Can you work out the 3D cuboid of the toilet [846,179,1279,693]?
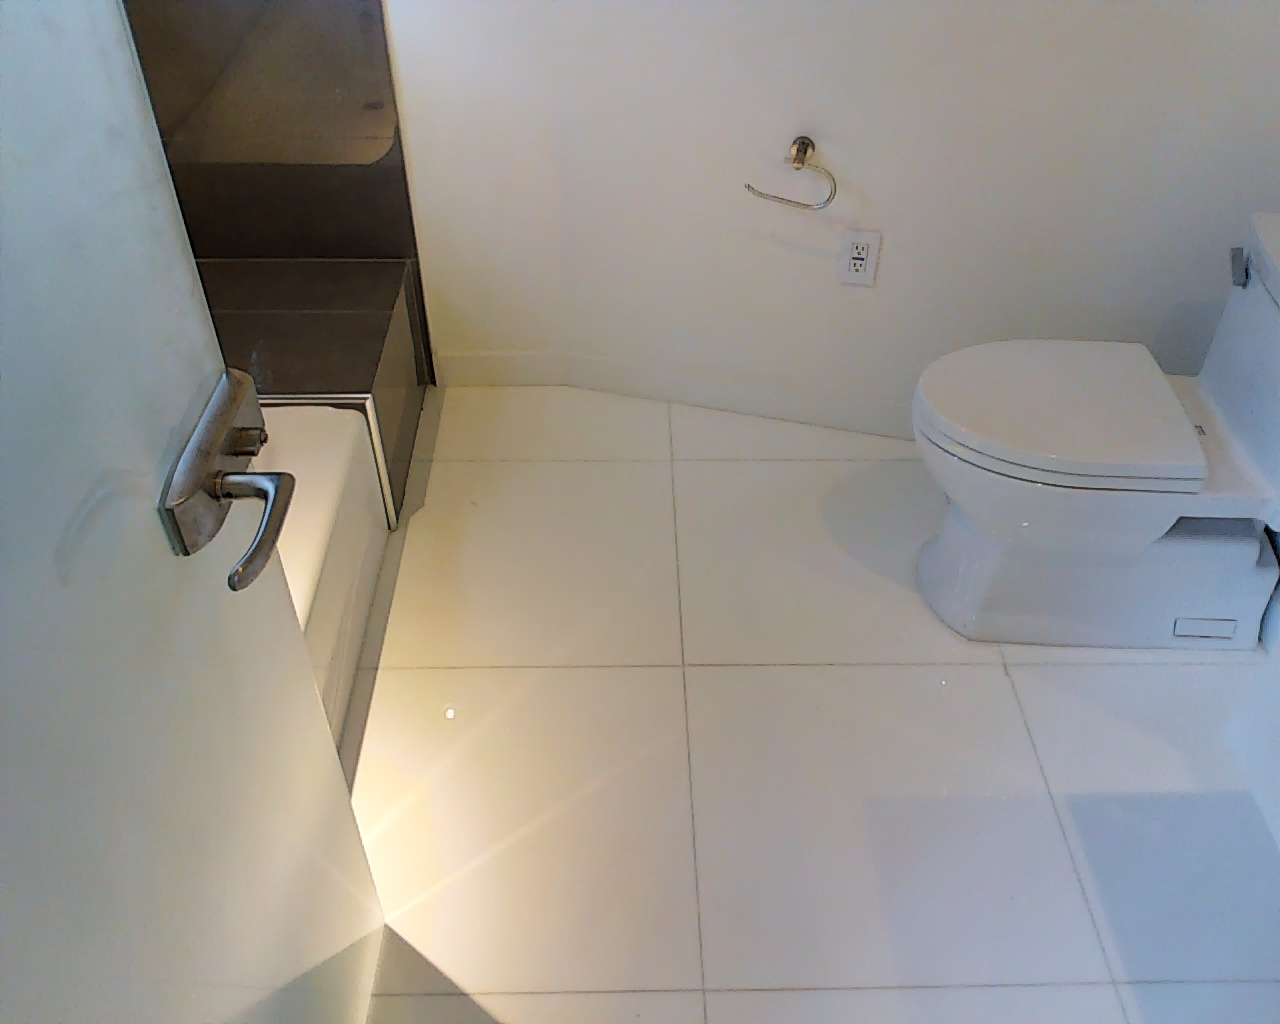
[{"bbox_3d":[0.840,-0.130,1.960,0.760,0.730,0.550,2,42,0],"label":"toilet"}]
